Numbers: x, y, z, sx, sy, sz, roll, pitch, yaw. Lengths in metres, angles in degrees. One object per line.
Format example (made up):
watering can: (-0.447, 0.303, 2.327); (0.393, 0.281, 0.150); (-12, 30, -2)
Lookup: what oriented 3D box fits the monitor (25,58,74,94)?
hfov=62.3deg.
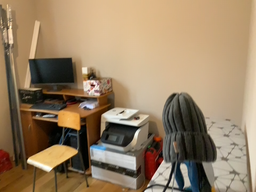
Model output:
monitor: (-1.080, -0.280, 2.940); (0.650, 0.460, 0.050); (3, 15, 4)

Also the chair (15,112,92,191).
chair: (-0.720, 0.640, 2.160); (0.390, 0.780, 0.540); (6, 15, 30)
